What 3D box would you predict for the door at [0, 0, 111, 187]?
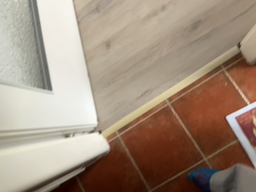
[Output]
[{"bbox_3d":[-0.440,-0.300,0.220,0.060,2.160,0.950,-14,82,10],"label":"door"}]
